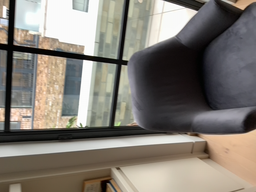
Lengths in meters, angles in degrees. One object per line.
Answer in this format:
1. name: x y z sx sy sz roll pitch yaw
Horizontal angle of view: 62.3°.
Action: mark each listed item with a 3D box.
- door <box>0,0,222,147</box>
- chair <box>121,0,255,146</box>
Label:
1. door: -0.300 -0.240 1.380 0.070 2.320 1.120 25 110 59
2. chair: 0.520 -0.120 1.270 0.750 0.820 0.710 -28 63 57
